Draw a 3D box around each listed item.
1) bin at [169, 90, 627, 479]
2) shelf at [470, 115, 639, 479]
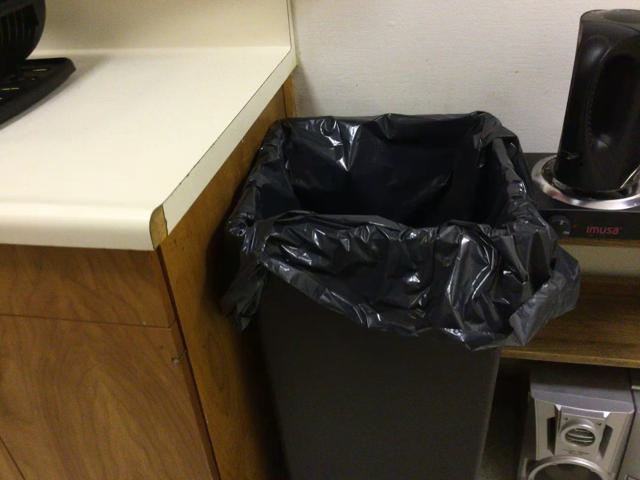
[{"bbox_3d":[0.150,0.220,1.080,0.500,0.830,0.540,2,34,12],"label":"bin"},{"bbox_3d":[0.840,0.200,1.070,1.040,0.770,0.360,2,34,12],"label":"shelf"}]
